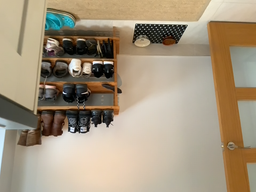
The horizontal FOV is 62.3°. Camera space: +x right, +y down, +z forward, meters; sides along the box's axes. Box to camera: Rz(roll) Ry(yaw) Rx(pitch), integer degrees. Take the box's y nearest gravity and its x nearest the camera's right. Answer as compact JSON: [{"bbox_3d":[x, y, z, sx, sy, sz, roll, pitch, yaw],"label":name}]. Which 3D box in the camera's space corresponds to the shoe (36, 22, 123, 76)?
[{"bbox_3d":[-0.380,-0.390,1.800,0.670,0.370,0.240,-1,166,-1],"label":"shoe"}]

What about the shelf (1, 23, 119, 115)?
[{"bbox_3d":[-0.500,-0.210,1.740,0.830,0.690,0.270,0,166,-4],"label":"shelf"}]

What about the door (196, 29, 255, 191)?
[{"bbox_3d":[0.990,0.430,1.510,0.800,1.980,0.070,0,166,-4],"label":"door"}]

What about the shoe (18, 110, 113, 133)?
[{"bbox_3d":[-0.450,0.200,1.640,0.660,0.140,0.250,0,166,-5],"label":"shoe"}]
